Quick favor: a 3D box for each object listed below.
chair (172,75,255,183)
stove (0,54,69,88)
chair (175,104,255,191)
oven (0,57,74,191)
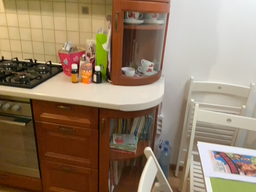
[{"bbox_3d":[0.650,0.290,1.690,0.460,0.880,0.070,7,23,8],"label":"chair"},{"bbox_3d":[-0.810,-0.200,1.490,0.590,0.030,0.550,7,23,8],"label":"stove"},{"bbox_3d":[0.580,0.520,1.300,0.460,0.770,0.450,8,23,9],"label":"chair"},{"bbox_3d":[-0.830,0.210,1.650,0.590,0.860,0.580,7,23,8],"label":"oven"}]
